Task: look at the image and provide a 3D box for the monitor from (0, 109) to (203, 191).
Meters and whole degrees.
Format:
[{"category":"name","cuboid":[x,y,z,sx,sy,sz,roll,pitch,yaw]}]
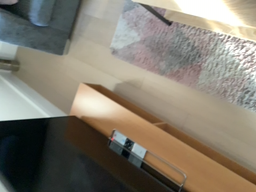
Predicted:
[{"category":"monitor","cuboid":[-0.130,0.310,0.920,1.090,0.630,0.050,26,103,32]}]
